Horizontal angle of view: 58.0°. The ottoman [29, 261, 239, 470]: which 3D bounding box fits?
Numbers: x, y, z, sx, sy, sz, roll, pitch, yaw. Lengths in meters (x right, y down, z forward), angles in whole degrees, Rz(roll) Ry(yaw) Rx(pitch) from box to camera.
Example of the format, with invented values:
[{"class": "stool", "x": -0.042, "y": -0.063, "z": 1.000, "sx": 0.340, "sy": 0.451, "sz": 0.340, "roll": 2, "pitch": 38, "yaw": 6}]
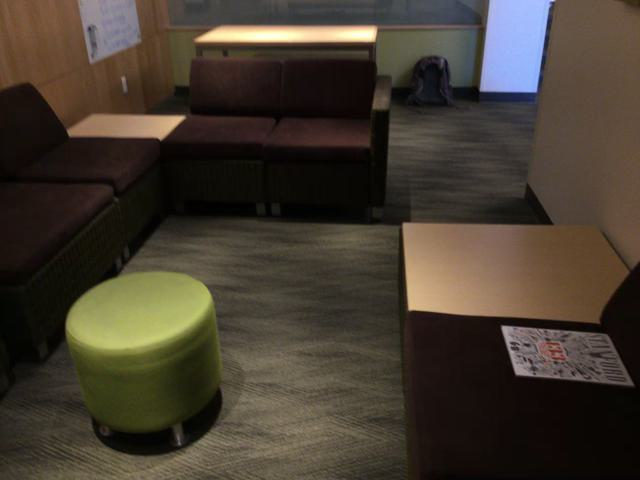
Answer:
[{"class": "ottoman", "x": -0.540, "y": 0.380, "z": 1.830, "sx": 0.460, "sy": 0.440, "sz": 0.420, "roll": 4, "pitch": 29, "yaw": 4}]
